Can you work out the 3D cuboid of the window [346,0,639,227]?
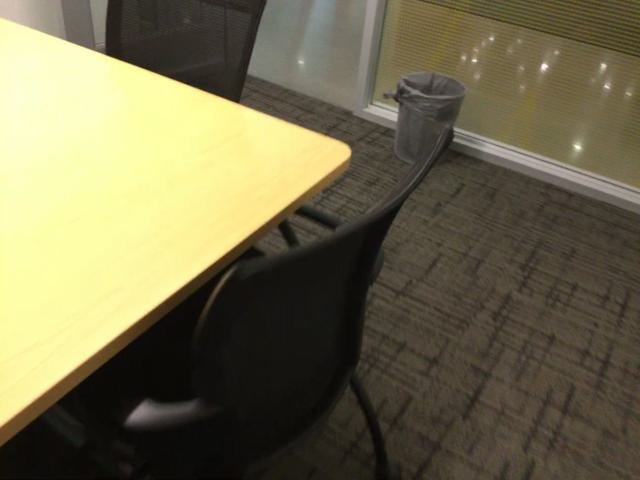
[{"bbox_3d":[1.010,-1.050,2.120,1.740,1.840,0.180,25,39,22],"label":"window"}]
